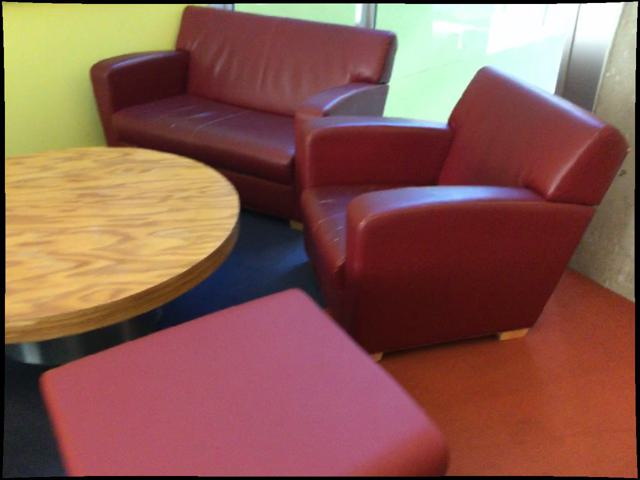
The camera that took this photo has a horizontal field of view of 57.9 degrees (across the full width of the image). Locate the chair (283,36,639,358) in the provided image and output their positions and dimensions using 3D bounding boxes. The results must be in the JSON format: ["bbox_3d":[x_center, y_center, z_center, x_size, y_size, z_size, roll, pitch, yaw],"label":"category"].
[{"bbox_3d":[0.400,-0.160,2.090,0.809,0.780,0.840,3,33,-18],"label":"chair"}]
